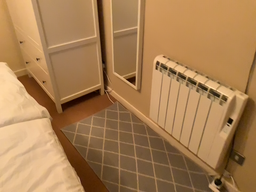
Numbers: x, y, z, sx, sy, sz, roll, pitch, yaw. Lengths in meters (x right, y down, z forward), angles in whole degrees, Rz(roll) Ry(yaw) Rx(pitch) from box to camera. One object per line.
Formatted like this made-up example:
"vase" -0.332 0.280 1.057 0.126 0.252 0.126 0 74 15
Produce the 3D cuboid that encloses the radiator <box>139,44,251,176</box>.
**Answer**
"radiator" 0.370 0.070 1.530 0.090 0.630 0.810 -22 42 -27
